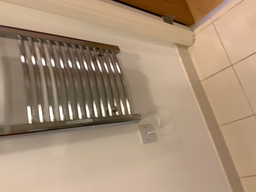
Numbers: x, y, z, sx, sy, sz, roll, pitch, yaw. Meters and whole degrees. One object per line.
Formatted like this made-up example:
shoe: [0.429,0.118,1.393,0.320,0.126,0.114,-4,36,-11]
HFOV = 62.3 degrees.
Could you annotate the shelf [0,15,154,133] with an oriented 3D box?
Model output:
shelf: [-0.280,-0.090,0.830,0.050,0.890,0.420,-34,65,44]
